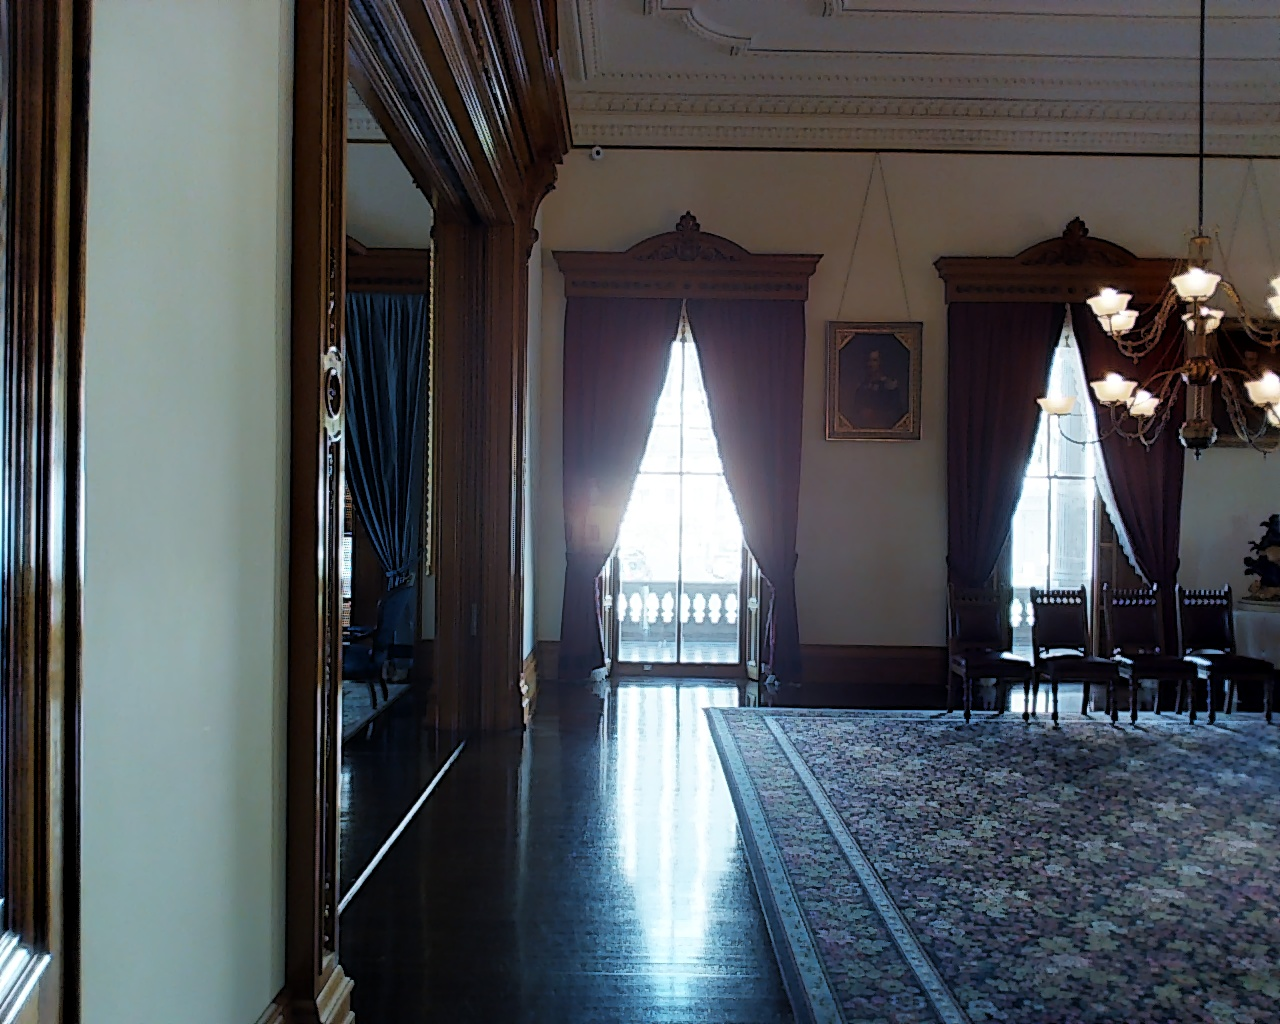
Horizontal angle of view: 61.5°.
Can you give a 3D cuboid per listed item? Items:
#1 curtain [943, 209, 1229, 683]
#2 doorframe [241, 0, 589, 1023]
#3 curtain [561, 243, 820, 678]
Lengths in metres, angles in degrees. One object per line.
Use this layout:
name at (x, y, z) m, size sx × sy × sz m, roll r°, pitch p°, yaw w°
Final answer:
curtain at (4.169, -0.610, 10.100) m, size 2.510 × 4.361 × 0.310 m, roll 1°, pitch 0°, yaw 0°
doorframe at (-0.720, -0.820, 5.520) m, size 0.620 × 4.661 × 5.400 m, roll 1°, pitch 0°, yaw 0°
curtain at (0.470, -0.480, 10.120) m, size 2.370 × 4.031 × 0.230 m, roll 1°, pitch 0°, yaw 1°
